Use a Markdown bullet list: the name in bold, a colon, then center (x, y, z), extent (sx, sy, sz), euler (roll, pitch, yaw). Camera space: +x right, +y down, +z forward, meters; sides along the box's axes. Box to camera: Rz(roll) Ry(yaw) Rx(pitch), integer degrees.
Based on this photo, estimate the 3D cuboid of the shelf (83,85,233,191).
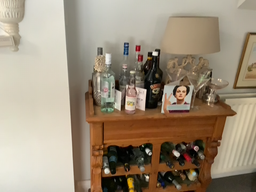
- **shelf**: center (0.130, 0.420, 1.470), extent (0.830, 0.880, 0.420), euler (-2, 22, -13)
